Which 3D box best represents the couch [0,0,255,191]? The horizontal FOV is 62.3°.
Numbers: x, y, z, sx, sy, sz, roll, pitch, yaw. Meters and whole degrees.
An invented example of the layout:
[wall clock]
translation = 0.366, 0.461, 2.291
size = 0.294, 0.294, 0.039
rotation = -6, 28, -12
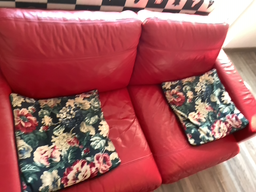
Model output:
[couch]
translation = 0.020, 0.040, 1.390
size = 1.750, 0.840, 1.060
rotation = -8, 63, -27
